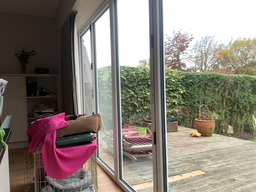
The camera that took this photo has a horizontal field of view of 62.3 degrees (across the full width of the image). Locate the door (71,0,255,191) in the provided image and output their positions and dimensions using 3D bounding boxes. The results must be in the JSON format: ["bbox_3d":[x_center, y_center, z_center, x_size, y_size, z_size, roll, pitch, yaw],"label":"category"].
[{"bbox_3d":[0.060,0.010,1.920,0.130,2.380,4.450,-3,3,-27],"label":"door"}]
